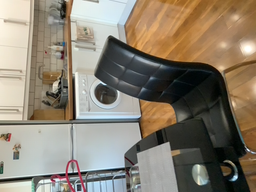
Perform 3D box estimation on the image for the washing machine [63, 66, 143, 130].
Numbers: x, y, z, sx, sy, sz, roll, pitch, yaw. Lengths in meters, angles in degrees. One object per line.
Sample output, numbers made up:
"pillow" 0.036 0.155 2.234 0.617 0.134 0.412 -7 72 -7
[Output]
"washing machine" -0.390 0.070 2.950 0.700 0.910 0.620 132 135 -57
